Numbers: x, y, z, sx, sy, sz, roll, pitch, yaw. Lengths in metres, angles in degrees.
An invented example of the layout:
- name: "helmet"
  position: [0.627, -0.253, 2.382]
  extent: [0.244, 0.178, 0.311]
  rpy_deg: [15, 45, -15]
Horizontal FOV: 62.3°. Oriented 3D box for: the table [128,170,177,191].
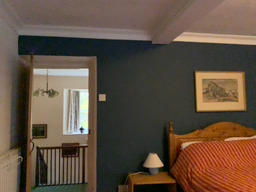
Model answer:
- name: "table"
  position: [0.280, 1.160, 2.530]
  extent: [0.500, 0.420, 0.370]
  rpy_deg: [0, -5, -9]
